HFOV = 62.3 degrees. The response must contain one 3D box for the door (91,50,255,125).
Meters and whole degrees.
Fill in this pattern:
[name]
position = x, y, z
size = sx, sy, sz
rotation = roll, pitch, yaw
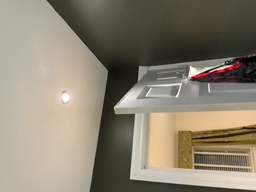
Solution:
[door]
position = 0.920, -0.110, 1.030
size = 0.760, 2.080, 0.120
rotation = -53, -44, -61
